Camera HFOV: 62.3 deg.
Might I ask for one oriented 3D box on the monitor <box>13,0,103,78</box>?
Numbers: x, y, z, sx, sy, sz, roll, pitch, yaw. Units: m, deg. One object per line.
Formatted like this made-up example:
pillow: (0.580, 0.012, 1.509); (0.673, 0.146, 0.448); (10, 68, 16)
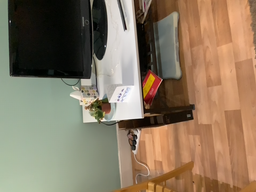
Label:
monitor: (-0.450, -0.530, 1.410); (0.040, 0.550, 0.810); (-12, 81, 54)
